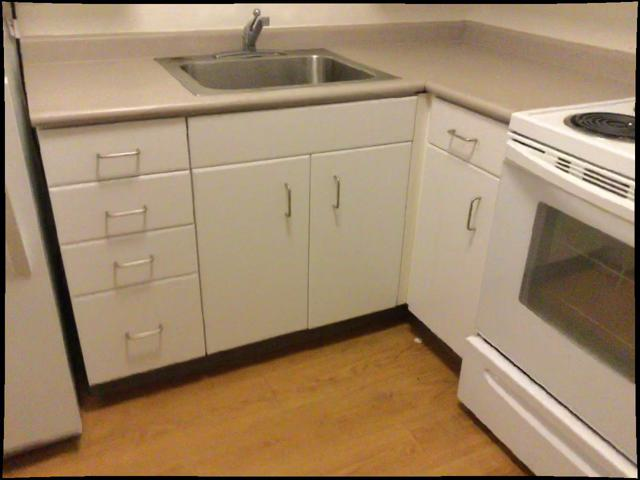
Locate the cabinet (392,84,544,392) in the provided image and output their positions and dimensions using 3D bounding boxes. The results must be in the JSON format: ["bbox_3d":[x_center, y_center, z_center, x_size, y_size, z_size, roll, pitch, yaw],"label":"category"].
[{"bbox_3d":[0.410,-0.010,1.790,0.100,0.831,0.470,-13,31,-22],"label":"cabinet"}]

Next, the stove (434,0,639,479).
[{"bbox_3d":[0.879,0.040,1.380,0.729,1.171,0.870,-13,31,-22],"label":"stove"}]

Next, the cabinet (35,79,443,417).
[{"bbox_3d":[-0.160,0.010,1.780,1.129,0.861,0.110,-13,31,-22],"label":"cabinet"}]
